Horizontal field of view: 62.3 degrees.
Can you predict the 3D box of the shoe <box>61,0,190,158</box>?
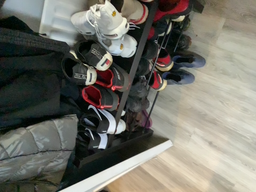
[{"bbox_3d":[-0.040,-0.120,1.020,0.330,0.250,0.710,31,111,31],"label":"shoe"}]
